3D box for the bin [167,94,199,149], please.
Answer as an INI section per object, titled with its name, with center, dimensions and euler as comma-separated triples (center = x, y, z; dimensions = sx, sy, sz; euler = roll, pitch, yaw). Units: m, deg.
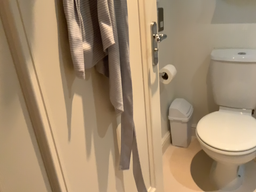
[bin]
center = 0.470, 0.210, 1.810
dimensions = 0.210, 0.370, 0.220
euler = 7, 26, 27
